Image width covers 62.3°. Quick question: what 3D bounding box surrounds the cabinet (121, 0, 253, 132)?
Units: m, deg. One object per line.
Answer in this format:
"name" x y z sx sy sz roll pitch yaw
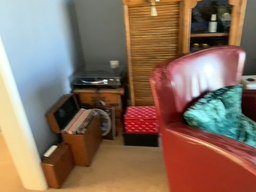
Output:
"cabinet" 0.460 -0.310 1.890 0.890 1.190 0.440 0 26 9
